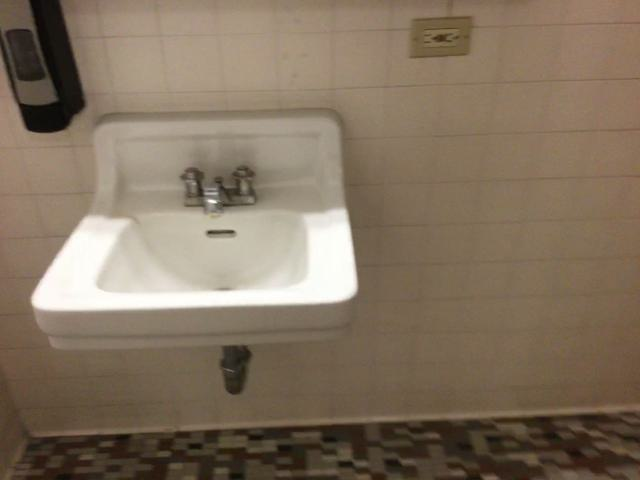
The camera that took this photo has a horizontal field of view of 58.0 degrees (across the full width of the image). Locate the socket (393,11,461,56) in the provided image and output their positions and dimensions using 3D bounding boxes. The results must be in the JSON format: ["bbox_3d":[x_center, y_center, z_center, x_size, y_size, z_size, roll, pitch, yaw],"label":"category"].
[{"bbox_3d":[0.200,-0.390,1.090,0.120,0.070,0.030,-3,30,1],"label":"socket"}]

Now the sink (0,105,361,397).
[{"bbox_3d":[-0.210,-0.010,1.060,0.530,0.340,0.460,-1,29,0],"label":"sink"}]
